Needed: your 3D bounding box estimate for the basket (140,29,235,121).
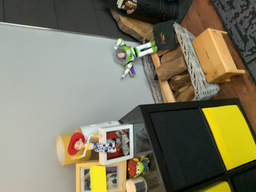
[{"bbox_3d":[0.380,-0.130,1.440,0.340,0.350,0.470,-43,58,49],"label":"basket"}]
